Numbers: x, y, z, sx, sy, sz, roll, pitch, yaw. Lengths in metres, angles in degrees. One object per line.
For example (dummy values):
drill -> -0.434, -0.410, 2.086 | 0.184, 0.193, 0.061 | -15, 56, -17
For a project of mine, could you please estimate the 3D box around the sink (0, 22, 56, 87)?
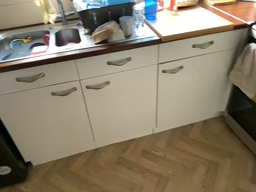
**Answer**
sink -> -0.660, -0.280, 1.330 | 0.360, 0.150, 0.500 | -13, 40, -11

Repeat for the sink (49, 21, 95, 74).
sink -> -0.370, -0.330, 1.370 | 0.230, 0.150, 0.390 | -13, 40, -11
